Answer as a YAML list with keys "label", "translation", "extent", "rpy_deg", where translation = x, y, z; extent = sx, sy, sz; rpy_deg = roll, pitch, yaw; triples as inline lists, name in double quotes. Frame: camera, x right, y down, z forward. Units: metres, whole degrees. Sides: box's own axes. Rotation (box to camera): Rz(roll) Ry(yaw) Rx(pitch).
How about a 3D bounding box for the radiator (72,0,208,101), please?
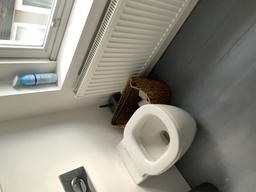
- label: "radiator"
  translation: [0.140, -0.410, 1.200]
  extent: [0.050, 0.630, 1.130]
  rpy_deg: [54, 130, 26]

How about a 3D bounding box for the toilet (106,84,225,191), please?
- label: "toilet"
  translation: [0.220, 0.250, 1.370]
  extent: [0.360, 0.430, 0.530]
  rpy_deg: [55, 131, 25]

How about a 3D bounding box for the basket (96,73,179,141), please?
- label: "basket"
  translation: [0.060, 0.070, 1.540]
  extent: [0.240, 0.400, 0.410]
  rpy_deg: [55, 131, 25]
